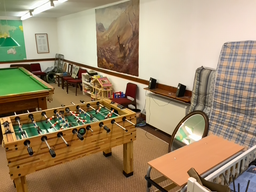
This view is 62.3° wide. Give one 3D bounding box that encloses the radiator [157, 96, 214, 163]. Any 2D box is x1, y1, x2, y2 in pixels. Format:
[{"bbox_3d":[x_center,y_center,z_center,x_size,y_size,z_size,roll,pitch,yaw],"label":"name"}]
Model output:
[{"bbox_3d":[0.820,0.450,3.280,0.120,0.650,1.080,-7,18,-25],"label":"radiator"}]
